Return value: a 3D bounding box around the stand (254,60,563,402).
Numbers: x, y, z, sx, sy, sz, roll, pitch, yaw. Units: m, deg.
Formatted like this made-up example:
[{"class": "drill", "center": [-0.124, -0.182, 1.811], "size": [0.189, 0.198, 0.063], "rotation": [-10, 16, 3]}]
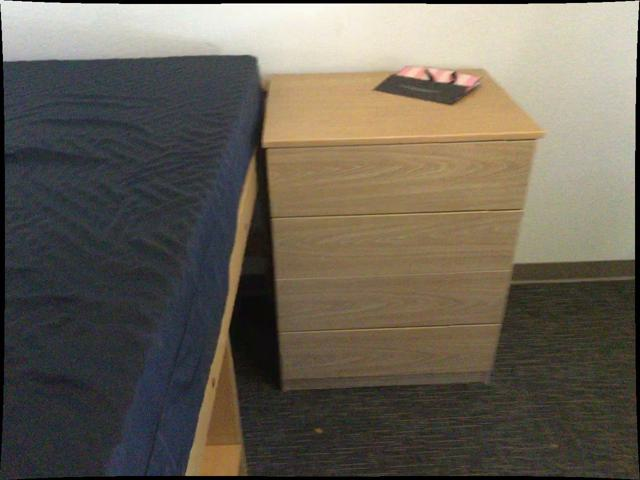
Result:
[{"class": "stand", "center": [0.220, -0.040, 2.040], "size": [0.809, 1.011, 0.650], "rotation": [0, 30, -2]}]
